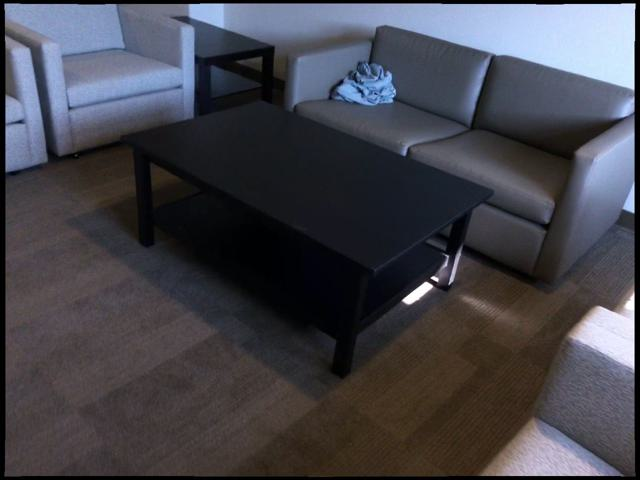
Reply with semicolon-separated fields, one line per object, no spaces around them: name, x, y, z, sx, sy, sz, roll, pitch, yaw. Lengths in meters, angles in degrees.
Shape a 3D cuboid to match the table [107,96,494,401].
table;-0.110;-0.080;2.190;1.209;0.441;0.740;29;39;30
